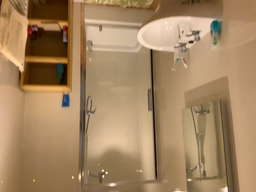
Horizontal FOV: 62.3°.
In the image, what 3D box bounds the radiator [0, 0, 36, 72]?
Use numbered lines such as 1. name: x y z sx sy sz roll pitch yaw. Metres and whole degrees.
1. radiator: -0.830 -0.670 1.490 0.160 0.850 0.690 0 172 -9
